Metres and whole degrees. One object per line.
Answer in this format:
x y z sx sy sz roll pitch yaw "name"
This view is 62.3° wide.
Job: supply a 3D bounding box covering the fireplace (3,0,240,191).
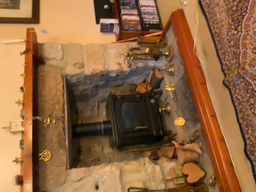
-0.160 0.180 1.940 1.020 1.400 1.660 117 147 -63 "fireplace"
